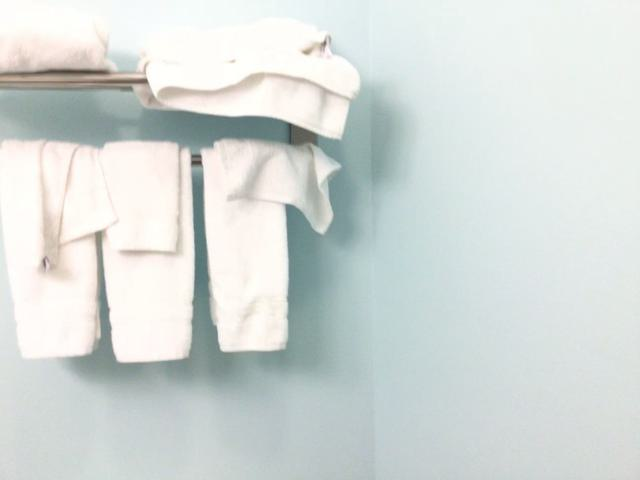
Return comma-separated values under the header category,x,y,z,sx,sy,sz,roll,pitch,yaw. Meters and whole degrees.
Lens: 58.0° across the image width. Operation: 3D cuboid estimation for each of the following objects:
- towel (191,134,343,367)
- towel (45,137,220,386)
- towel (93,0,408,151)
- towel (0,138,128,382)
category,x,y,z,sx,sy,sz,roll,pitch,yaw
towel,-0.090,0.010,0.980,0.220,0.360,0.110,-5,8,-14
towel,-0.290,0.020,0.910,0.210,0.350,0.110,-8,9,-33
towel,-0.120,-0.280,0.950,0.390,0.240,0.340,-8,9,-33
towel,-0.400,0.020,0.890,0.140,0.340,0.130,-8,9,-33
